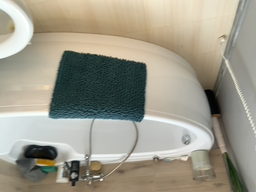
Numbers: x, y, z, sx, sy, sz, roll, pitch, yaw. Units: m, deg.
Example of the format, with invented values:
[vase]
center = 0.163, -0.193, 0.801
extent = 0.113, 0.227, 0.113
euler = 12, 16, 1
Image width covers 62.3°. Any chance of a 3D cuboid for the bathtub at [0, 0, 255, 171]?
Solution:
[bathtub]
center = -0.220, 0.060, 1.620
extent = 1.740, 0.610, 1.190
euler = -7, 149, 7
